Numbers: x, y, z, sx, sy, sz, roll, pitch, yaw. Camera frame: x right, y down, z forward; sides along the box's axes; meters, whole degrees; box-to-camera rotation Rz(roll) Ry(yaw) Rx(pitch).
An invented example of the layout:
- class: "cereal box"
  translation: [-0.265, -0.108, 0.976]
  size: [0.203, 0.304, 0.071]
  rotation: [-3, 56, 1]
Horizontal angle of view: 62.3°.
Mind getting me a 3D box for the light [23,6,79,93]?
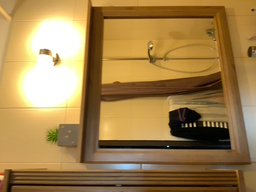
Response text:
- class: "light"
  translation: [-0.380, -0.240, 1.080]
  size: [0.070, 0.220, 0.450]
  rotation: [83, -173, -75]
